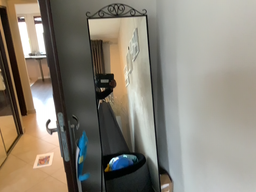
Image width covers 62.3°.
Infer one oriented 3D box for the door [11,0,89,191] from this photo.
[{"bbox_3d":[-0.420,0.130,1.410,0.150,1.900,0.910,-7,18,-11],"label":"door"}]
